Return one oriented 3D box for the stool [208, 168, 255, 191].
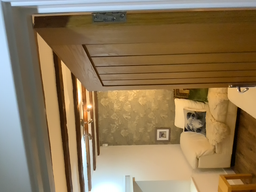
[{"bbox_3d":[1.370,1.180,2.840,0.270,0.450,0.310,-96,6,-74],"label":"stool"}]
